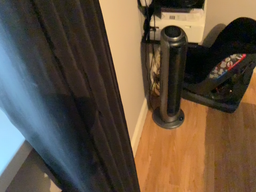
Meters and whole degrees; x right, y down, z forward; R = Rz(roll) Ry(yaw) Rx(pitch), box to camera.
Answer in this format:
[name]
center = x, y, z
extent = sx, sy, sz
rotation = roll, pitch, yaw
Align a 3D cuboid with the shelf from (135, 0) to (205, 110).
[shelf]
center = 0.310, -0.500, 1.450
extent = 0.370, 1.190, 0.480
rotation = 8, 47, 16
